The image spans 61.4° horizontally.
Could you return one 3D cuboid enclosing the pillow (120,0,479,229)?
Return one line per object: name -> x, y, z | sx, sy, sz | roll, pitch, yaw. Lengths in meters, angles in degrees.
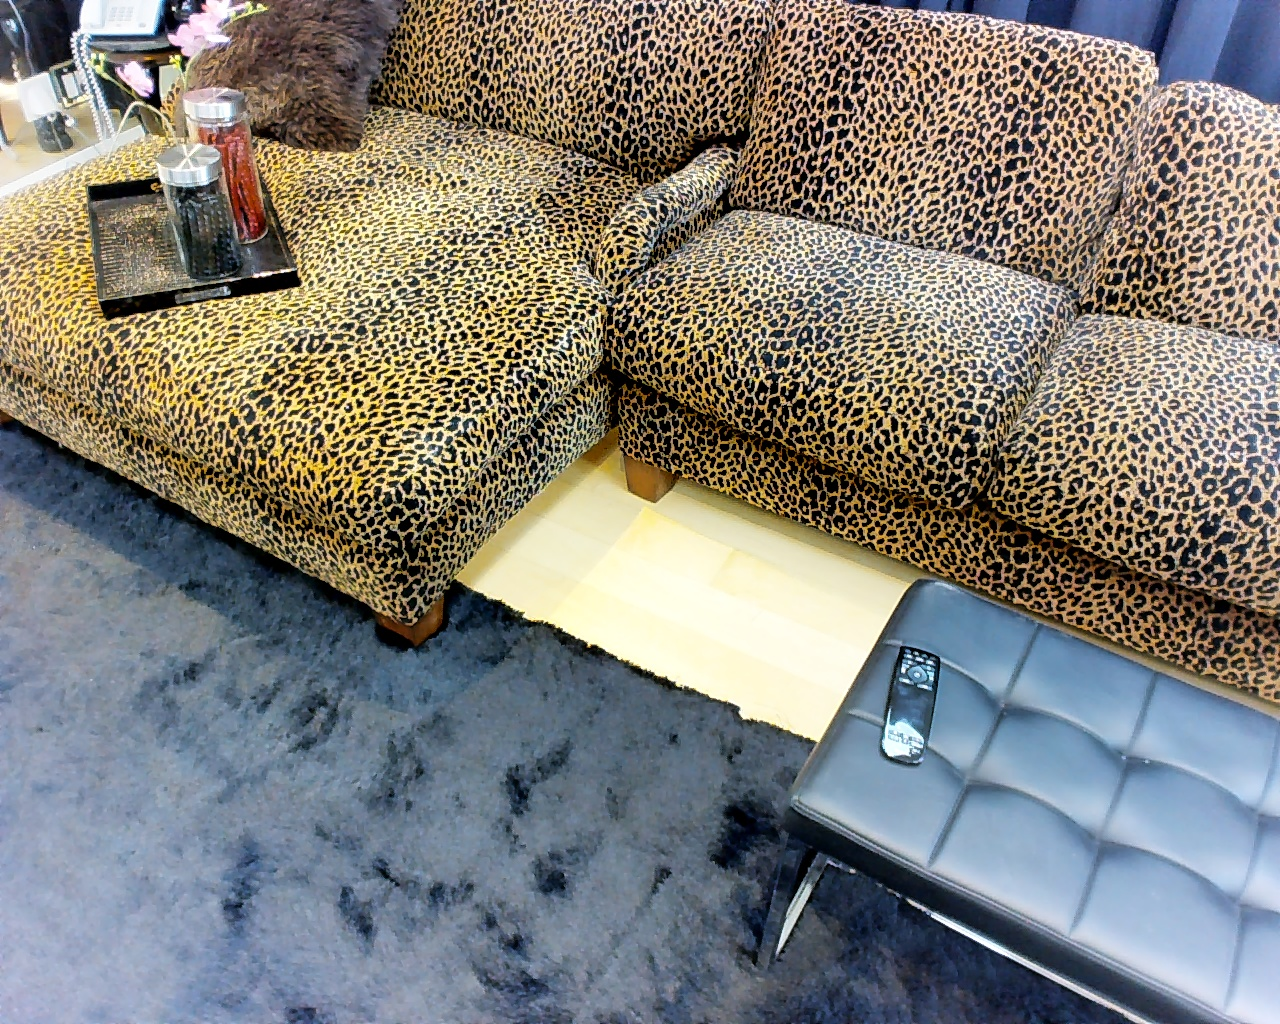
pillow -> -0.820, -1.130, 2.580 | 0.570, 0.630, 0.290 | -23, 16, 42
